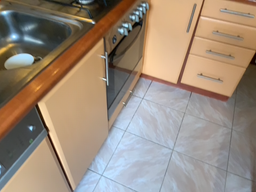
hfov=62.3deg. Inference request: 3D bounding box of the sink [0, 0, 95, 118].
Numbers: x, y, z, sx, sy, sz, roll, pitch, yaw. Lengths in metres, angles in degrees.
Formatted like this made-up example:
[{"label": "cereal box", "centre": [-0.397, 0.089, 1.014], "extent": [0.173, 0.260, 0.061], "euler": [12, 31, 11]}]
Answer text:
[{"label": "sink", "centre": [-0.420, -0.180, 0.840], "extent": [0.440, 0.190, 0.360], "euler": [20, 49, 14]}]
